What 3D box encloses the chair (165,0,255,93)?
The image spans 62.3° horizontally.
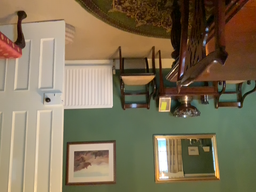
[{"bbox_3d":[0.530,-0.540,1.050,0.560,0.960,0.550,-1,171,-4],"label":"chair"}]

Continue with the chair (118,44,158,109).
[{"bbox_3d":[0.120,-0.260,3.180,0.520,0.850,0.580,-1,171,-2],"label":"chair"}]

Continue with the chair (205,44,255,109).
[{"bbox_3d":[1.610,-0.270,3.250,0.570,0.860,0.560,-1,171,-2],"label":"chair"}]
